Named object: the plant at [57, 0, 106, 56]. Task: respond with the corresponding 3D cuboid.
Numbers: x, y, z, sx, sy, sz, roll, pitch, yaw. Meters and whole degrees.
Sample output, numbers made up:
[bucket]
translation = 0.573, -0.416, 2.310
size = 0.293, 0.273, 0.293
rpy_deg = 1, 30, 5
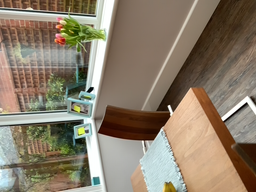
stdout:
[plant]
translation = -0.400, -0.560, 1.750
size = 0.260, 0.330, 0.360
rpy_deg = 113, 148, -50
